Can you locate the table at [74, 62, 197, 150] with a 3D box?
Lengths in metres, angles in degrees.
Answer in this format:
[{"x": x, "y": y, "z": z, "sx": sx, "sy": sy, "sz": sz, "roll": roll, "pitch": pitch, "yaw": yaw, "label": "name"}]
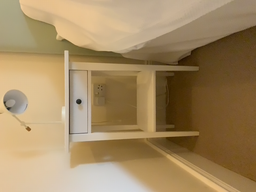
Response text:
[{"x": 0.010, "y": 0.040, "z": 1.270, "sx": 0.410, "sy": 0.640, "sz": 0.410, "roll": -173, "pitch": 83, "yaw": -74, "label": "table"}]
